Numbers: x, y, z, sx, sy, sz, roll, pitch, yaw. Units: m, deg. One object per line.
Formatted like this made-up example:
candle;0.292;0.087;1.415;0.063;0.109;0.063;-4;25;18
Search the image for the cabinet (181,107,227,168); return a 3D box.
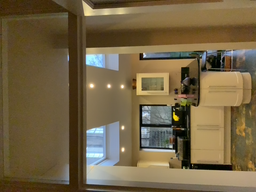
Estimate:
cabinet;1.810;0.960;5.150;0.620;0.920;1.330;-1;-89;-83
